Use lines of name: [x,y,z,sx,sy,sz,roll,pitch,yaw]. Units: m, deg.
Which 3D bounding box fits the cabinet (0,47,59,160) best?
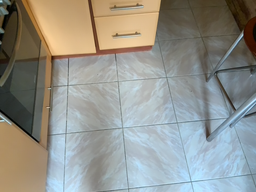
cabinet: [-0.780,0.040,1.310,0.610,0.200,0.660,-5,62,-4]
